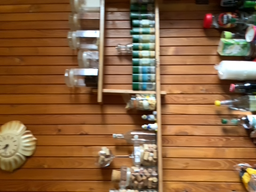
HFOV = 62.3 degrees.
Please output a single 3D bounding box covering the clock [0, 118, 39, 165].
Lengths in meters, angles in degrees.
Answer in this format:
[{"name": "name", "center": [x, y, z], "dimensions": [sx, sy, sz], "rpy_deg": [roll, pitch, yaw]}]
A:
[{"name": "clock", "center": [-0.630, 0.240, 1.140], "dimensions": [0.050, 0.260, 0.240], "rpy_deg": [86, -174, -78]}]
